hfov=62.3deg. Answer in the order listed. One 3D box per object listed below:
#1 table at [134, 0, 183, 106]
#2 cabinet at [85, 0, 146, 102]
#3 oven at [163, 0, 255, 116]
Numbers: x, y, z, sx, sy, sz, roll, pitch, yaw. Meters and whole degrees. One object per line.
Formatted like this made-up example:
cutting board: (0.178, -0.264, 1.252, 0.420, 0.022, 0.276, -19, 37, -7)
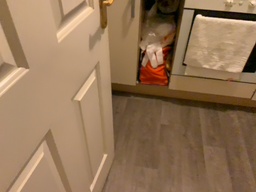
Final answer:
table: (0.220, -0.480, 1.640, 0.240, 0.940, 0.590, 7, 42, 5)
cabinet: (-0.060, -0.510, 1.660, 0.330, 0.940, 0.590, 7, 42, 5)
oven: (0.630, -0.430, 1.600, 0.590, 0.940, 0.610, 7, 42, 5)
